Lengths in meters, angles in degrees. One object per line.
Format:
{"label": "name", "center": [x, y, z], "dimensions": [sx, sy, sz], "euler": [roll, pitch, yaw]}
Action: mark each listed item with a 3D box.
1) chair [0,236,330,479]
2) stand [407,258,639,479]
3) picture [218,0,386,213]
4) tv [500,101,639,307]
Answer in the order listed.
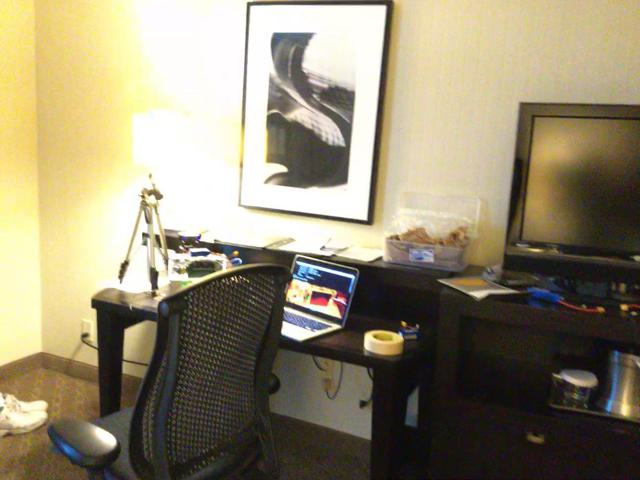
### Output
{"label": "chair", "center": [-0.470, 0.570, 1.720], "dimensions": [0.760, 1.070, 0.670], "euler": [4, 7, 30]}
{"label": "stand", "center": [0.950, 0.610, 1.830], "dimensions": [1.200, 1.040, 0.520], "euler": [0, 6, 25]}
{"label": "picture", "center": [-0.090, -0.570, 2.470], "dimensions": [0.710, 0.880, 0.070], "euler": [-1, 5, 25]}
{"label": "tv", "center": [0.970, -0.110, 1.760], "dimensions": [0.780, 0.600, 0.170], "euler": [-1, 5, 20]}
